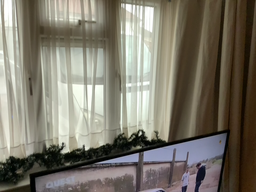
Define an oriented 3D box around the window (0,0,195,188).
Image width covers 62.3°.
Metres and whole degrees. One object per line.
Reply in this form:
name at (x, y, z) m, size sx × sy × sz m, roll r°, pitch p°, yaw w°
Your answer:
window at (-0.330, -0.180, 1.390) m, size 1.750 × 1.380 × 0.160 m, roll -4°, pitch 14°, yaw -26°
